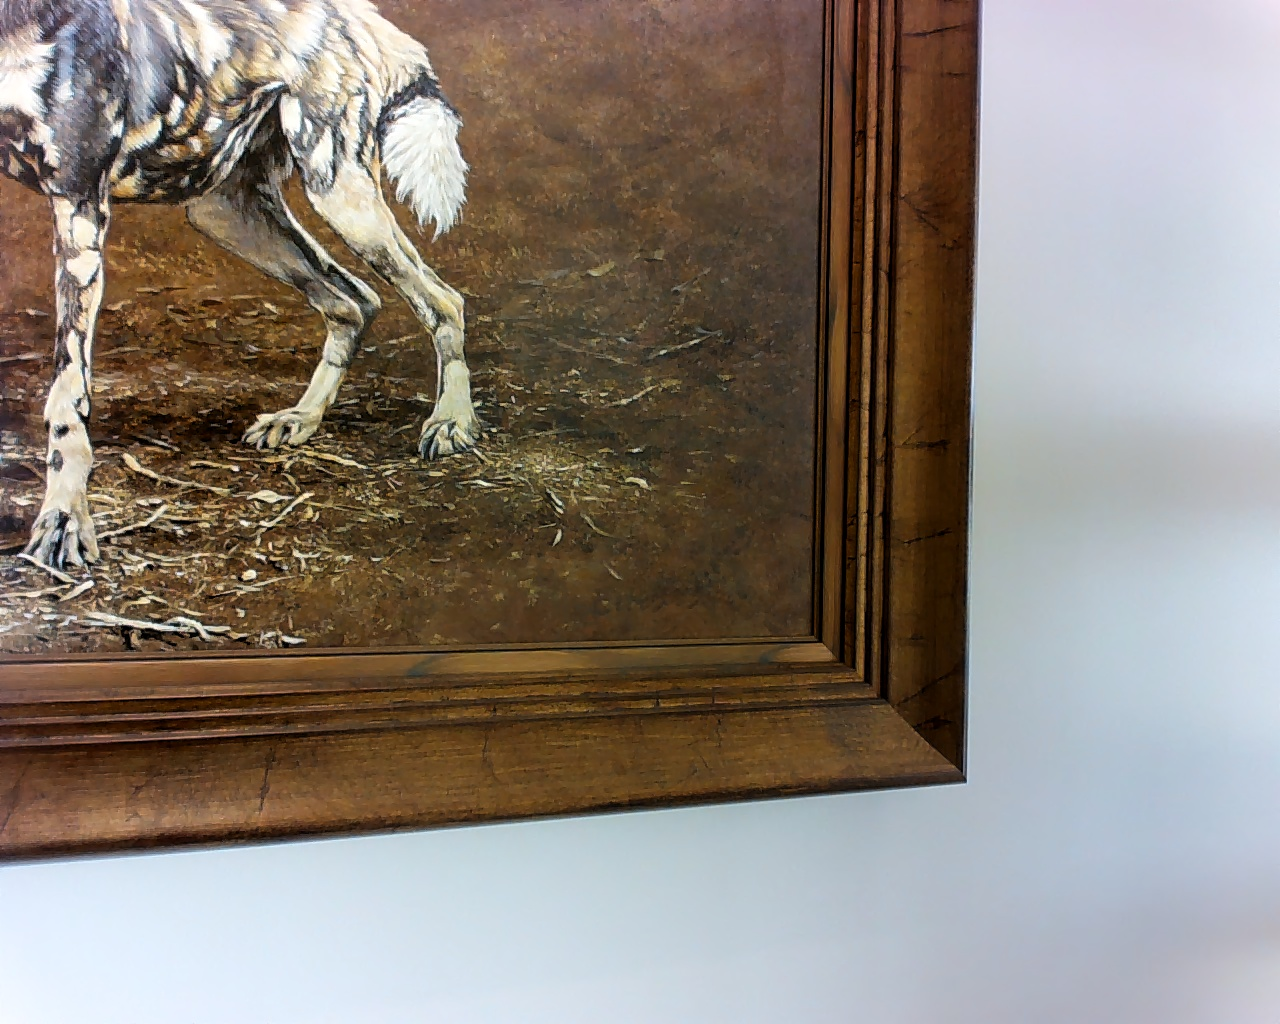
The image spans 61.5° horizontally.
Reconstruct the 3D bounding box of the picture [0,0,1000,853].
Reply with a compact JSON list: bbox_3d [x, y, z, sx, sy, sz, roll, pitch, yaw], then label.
[{"bbox_3d":[-0.270,-0.240,0.640,1.140,0.850,0.060,1,-1,-21],"label":"picture"}]
